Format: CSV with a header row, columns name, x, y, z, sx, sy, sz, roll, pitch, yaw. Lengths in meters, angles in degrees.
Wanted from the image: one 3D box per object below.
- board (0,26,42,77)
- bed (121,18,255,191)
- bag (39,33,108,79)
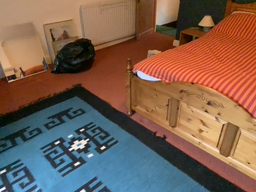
name,x,y,z,sx,sy,sz,roll,pitch,yaw
board,-1.530,-0.630,3.020,0.050,0.670,0.620,23,24,34
bed,1.280,-0.190,2.300,2.180,0.690,1.610,-27,41,-36
bag,-0.820,-0.650,3.290,0.790,0.360,0.630,-27,41,-36
